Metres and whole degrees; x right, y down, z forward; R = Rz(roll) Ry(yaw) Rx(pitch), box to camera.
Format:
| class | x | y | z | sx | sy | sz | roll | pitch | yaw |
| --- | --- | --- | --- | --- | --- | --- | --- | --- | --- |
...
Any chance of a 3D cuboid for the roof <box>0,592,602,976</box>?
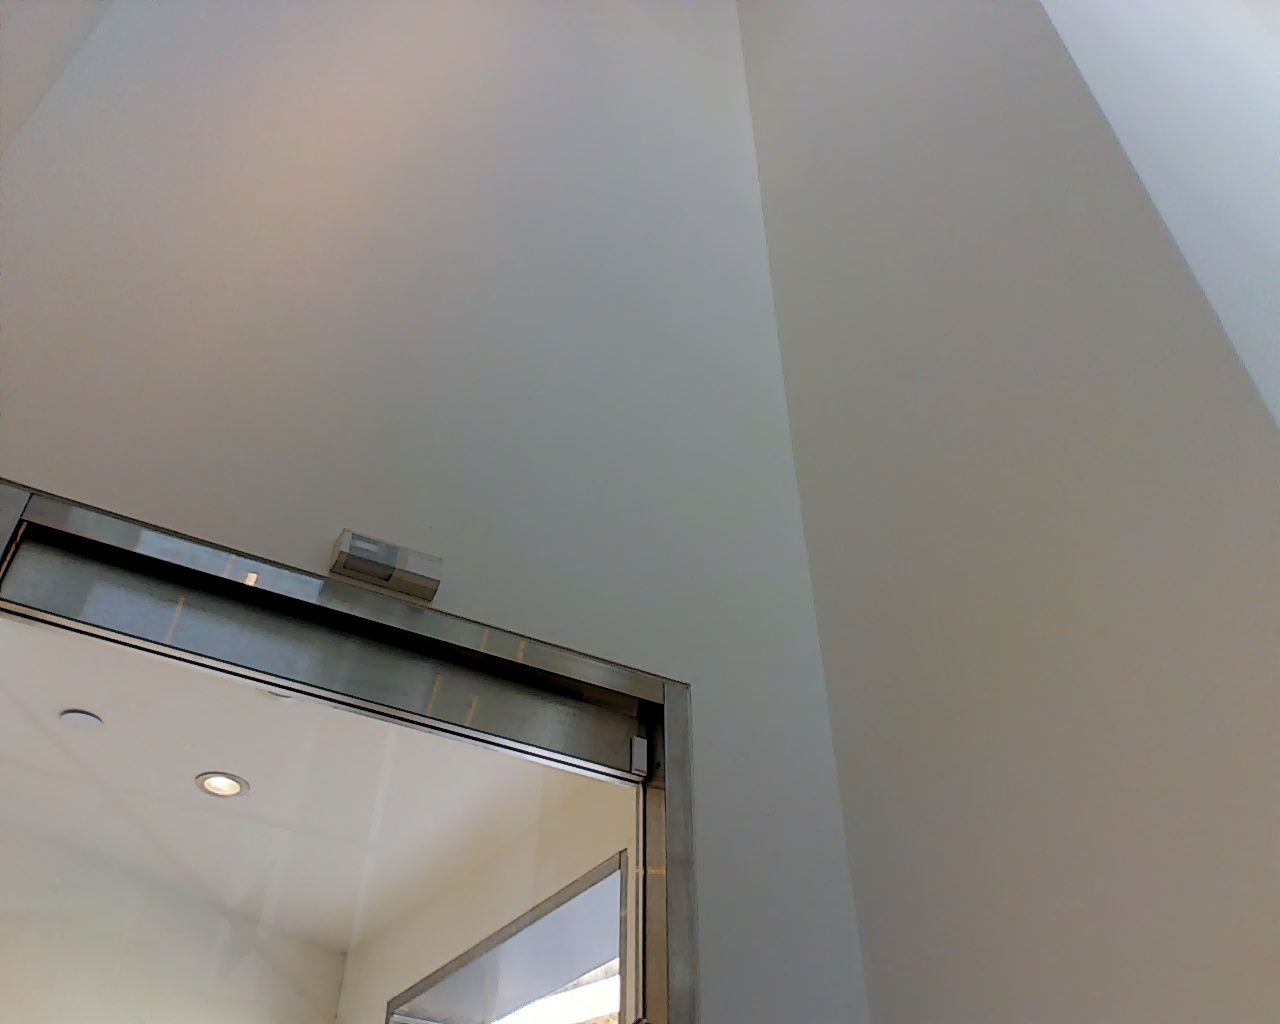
| class | x | y | z | sx | sy | sz | roll | pitch | yaw |
| --- | --- | --- | --- | --- | --- | --- | --- | --- | --- |
| roof | -1.039 | 0.810 | 2.730 | 1.350 | 0.060 | 1.500 | 20 | -45 | -21 |
